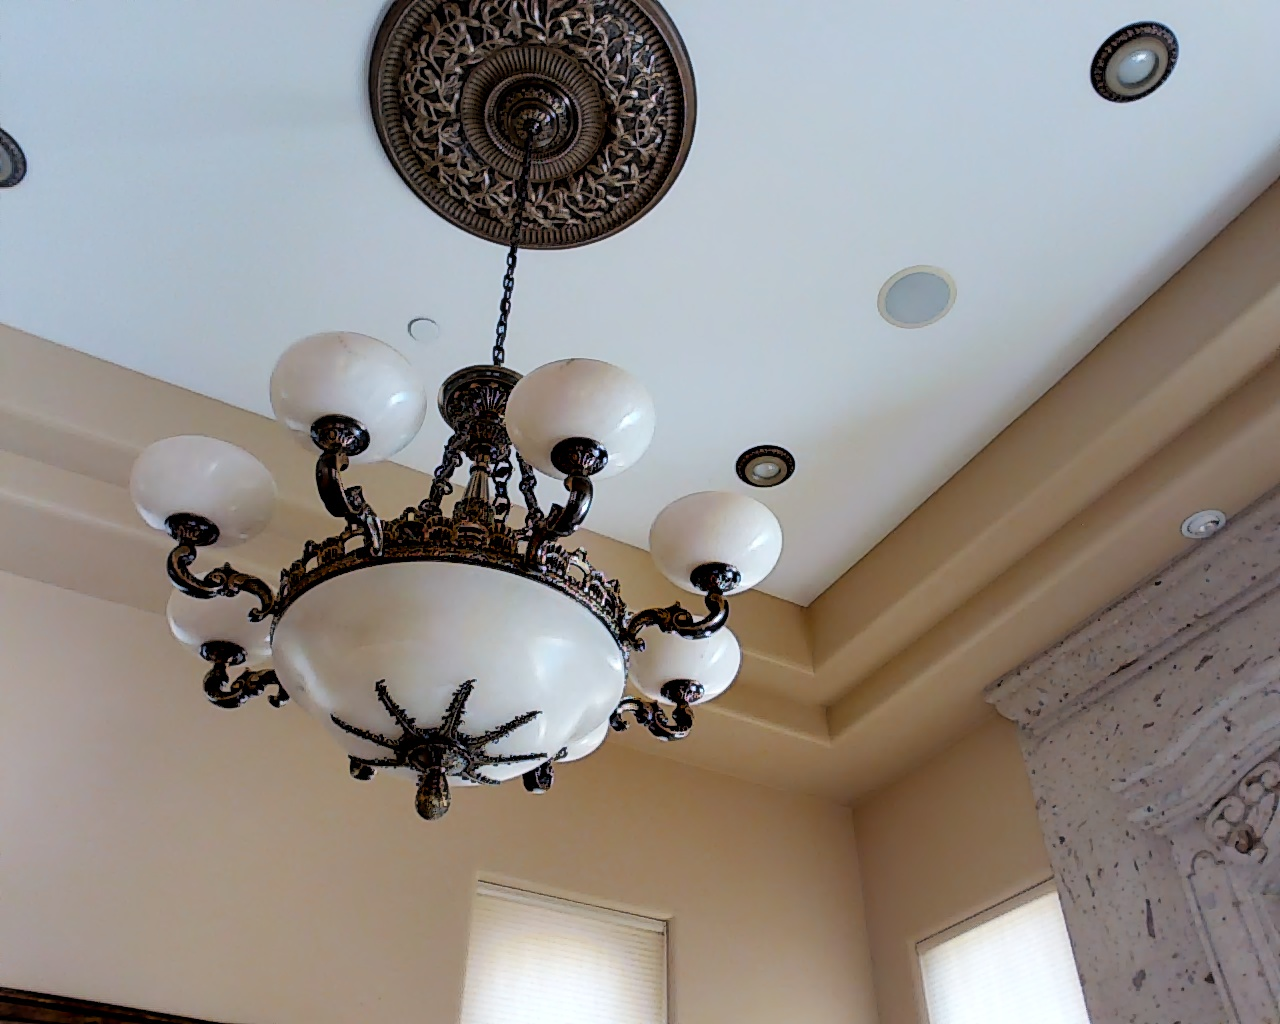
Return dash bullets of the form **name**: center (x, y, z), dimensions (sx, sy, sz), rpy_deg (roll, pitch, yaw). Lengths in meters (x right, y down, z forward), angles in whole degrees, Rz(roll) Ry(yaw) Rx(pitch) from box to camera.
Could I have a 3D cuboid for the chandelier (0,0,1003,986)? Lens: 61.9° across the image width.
- **chandelier**: center (-0.210, -0.270, 2.090), dimensions (1.160, 1.901, 1.130), rpy_deg (20, -22, -20)
